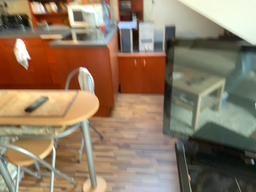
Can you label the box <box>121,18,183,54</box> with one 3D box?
[{"bbox_3d":[0.330,-0.870,3.040,0.790,0.370,0.540,1,29,5],"label":"box"}]
